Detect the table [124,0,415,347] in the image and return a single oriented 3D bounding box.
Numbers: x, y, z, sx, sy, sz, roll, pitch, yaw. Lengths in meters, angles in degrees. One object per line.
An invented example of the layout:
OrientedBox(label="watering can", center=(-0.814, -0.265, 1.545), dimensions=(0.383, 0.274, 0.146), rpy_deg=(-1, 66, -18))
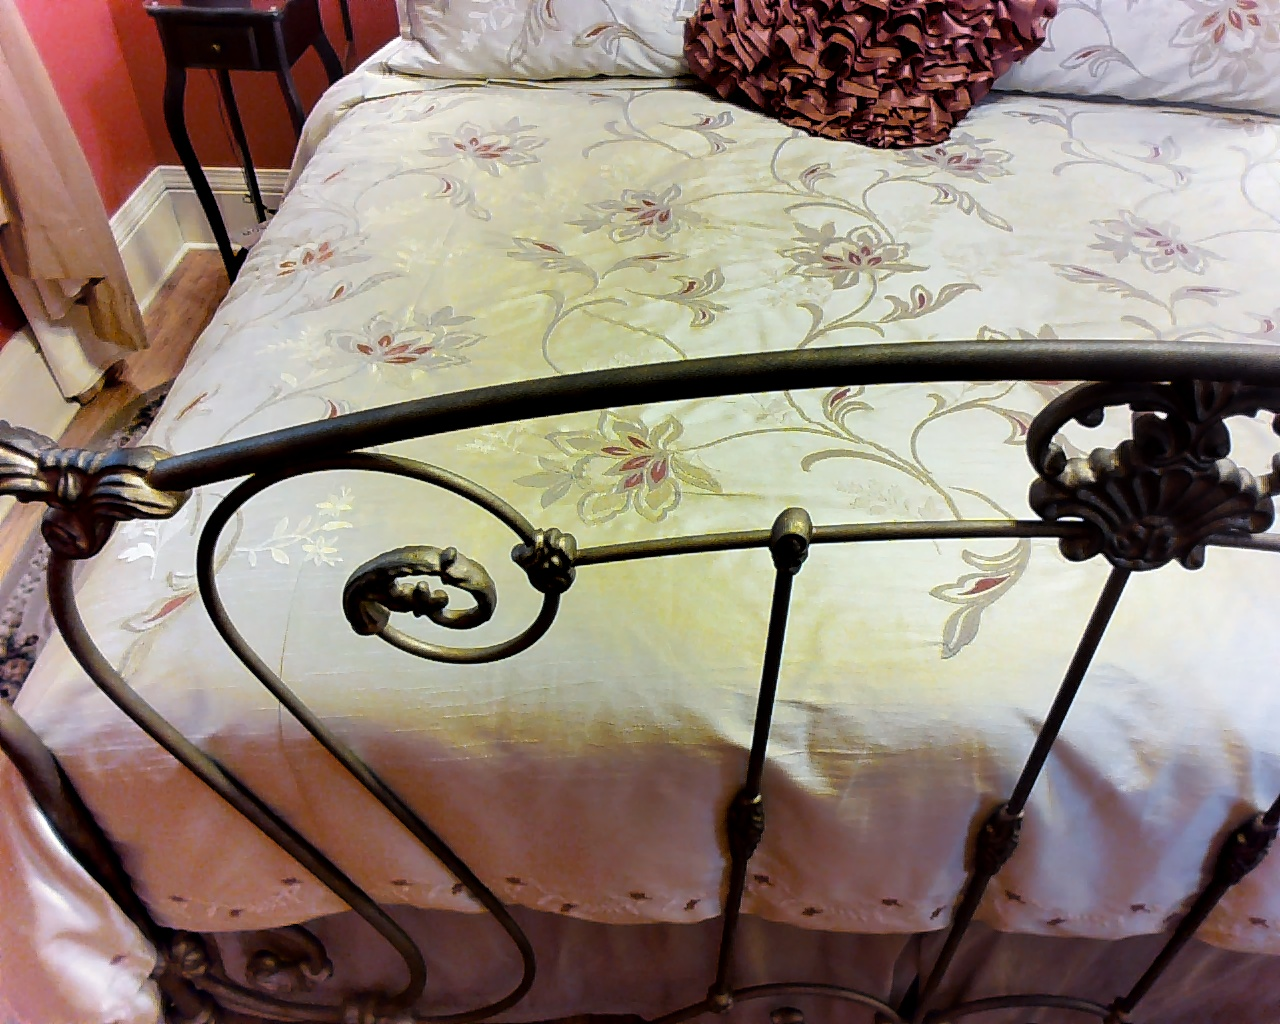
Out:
OrientedBox(label="table", center=(-0.870, -0.880, 2.700), dimensions=(0.390, 0.740, 0.510), rpy_deg=(5, 44, 4))

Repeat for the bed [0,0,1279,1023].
OrientedBox(label="bed", center=(0.380, -0.500, 1.710), dimensions=(2.320, 1.590, 2.320), rpy_deg=(2, 44, 1))
